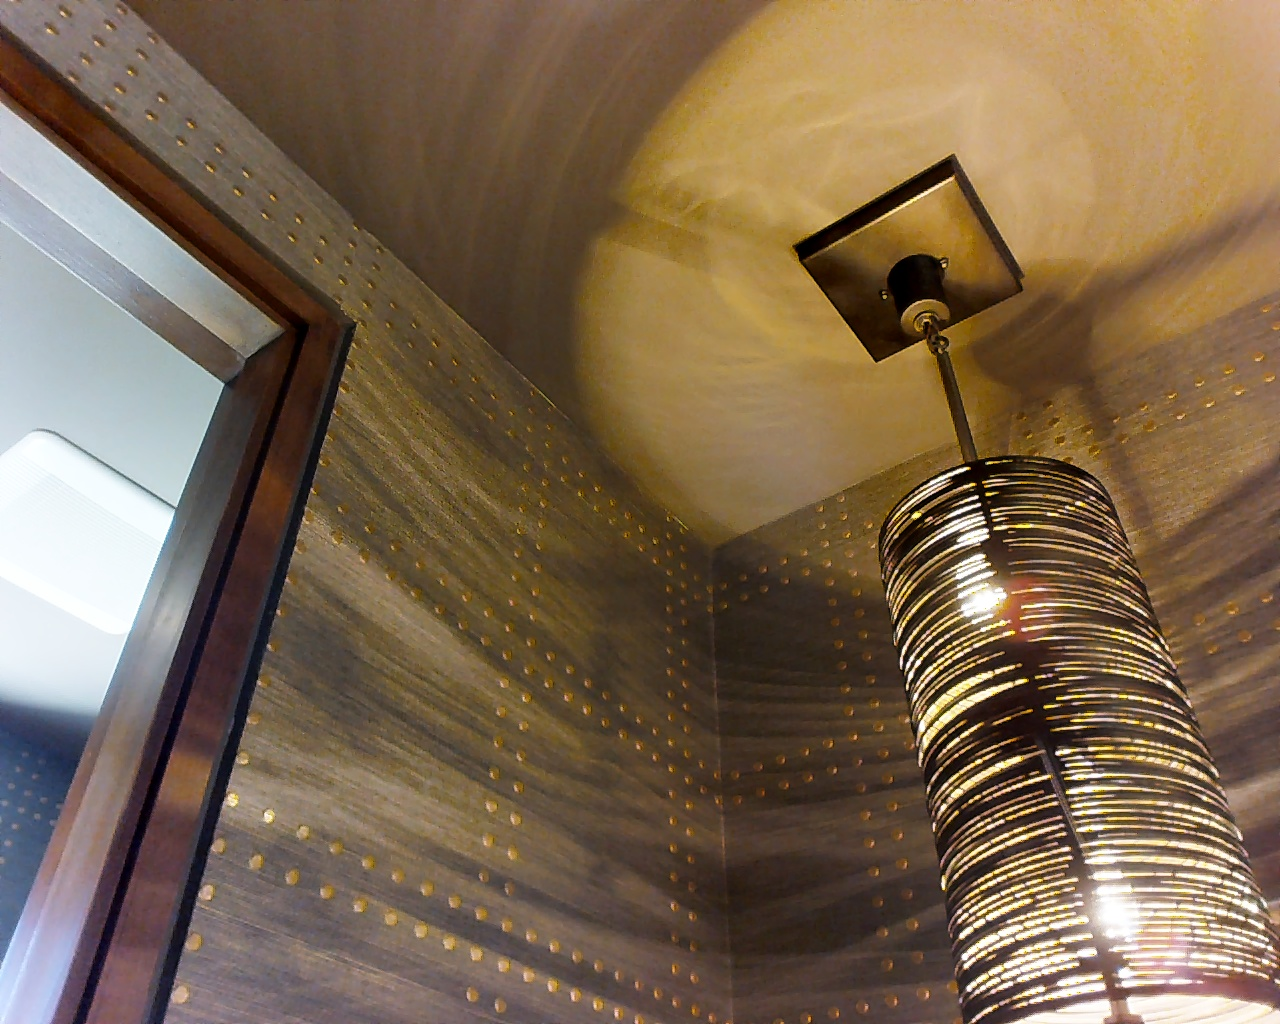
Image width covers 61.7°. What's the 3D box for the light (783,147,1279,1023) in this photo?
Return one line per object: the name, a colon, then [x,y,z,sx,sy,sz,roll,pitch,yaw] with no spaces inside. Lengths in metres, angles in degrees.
light: [0.300,0.030,0.920,0.210,0.810,0.200,-25,-47,26]
